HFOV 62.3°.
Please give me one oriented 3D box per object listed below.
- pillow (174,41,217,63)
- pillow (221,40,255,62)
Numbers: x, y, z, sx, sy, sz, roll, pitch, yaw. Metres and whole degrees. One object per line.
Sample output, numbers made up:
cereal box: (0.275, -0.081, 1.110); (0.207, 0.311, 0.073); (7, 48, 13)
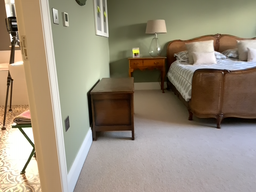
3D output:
pillow: (1.160, -0.800, 3.780); (0.560, 0.330, 0.690); (-1, 15, 3)
pillow: (2.060, -0.800, 3.720); (0.530, 0.330, 0.720); (-1, 15, 1)
